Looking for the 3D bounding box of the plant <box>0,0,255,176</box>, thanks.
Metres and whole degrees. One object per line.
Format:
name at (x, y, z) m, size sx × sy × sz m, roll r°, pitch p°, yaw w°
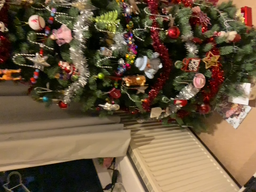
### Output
plant at (-0.270, -0.330, 1.250) m, size 1.010 × 1.910 × 0.920 m, roll 54°, pitch 135°, yaw 44°
